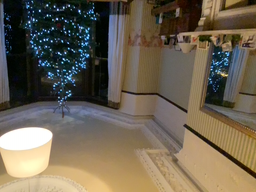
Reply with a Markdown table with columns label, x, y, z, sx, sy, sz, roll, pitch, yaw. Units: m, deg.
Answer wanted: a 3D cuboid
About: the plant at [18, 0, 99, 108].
| label | x | y | z | sx | sy | sz | roll | pitch | yaw |
| --- | --- | --- | --- | --- | --- | --- | --- | --- | --- |
| plant | -1.640 | -1.400 | 5.300 | 1.560 | 2.970 | 1.780 | 0 | -166 | -15 |
